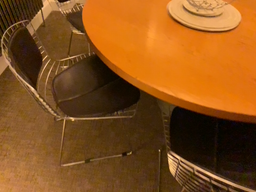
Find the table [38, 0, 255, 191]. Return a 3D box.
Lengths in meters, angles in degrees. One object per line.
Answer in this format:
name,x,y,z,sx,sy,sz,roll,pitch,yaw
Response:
table,0.440,-0.220,1.410,1.370,0.730,1.420,5,47,2

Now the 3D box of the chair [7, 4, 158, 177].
chair,-0.230,-0.010,1.170,0.530,0.730,0.460,-17,50,-18

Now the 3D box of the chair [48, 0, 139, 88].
chair,-0.280,-0.580,1.700,0.440,0.740,0.570,-29,55,-26

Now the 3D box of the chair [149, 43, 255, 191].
chair,0.360,0.270,0.940,0.420,0.730,0.570,13,48,9
